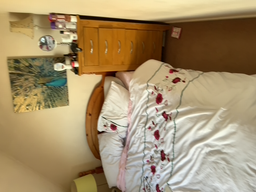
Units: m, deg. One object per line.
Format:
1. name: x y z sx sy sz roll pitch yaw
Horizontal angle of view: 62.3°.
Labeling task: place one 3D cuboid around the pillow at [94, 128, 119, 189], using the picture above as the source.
1. pillow: -0.290 0.780 2.730 0.490 0.130 0.570 31 122 58
